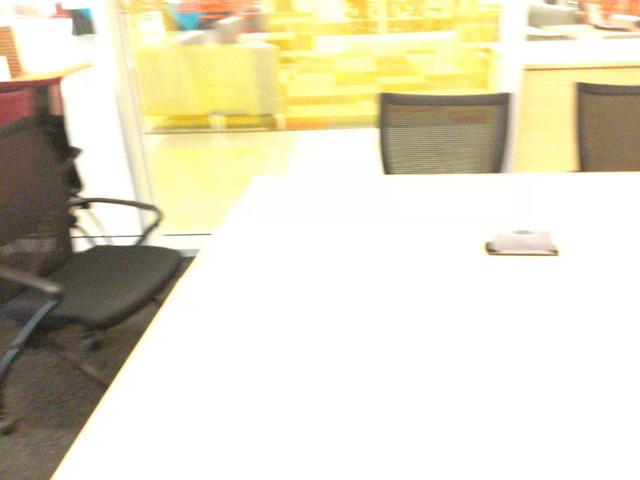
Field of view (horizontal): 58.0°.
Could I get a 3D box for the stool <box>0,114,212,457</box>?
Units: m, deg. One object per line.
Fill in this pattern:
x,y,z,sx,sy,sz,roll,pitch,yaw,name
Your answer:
-0.770,0.110,1.900,0.570,0.920,0.590,3,23,10,stool

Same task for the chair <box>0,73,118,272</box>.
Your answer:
-1.390,-0.340,2.450,0.630,0.600,0.900,1,23,5,chair
